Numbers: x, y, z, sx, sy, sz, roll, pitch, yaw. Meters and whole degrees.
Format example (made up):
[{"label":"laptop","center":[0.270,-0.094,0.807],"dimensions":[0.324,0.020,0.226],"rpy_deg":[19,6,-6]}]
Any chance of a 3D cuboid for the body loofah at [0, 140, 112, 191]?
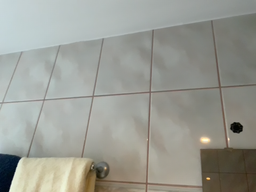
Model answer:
[{"label":"body loofah","center":[-0.220,0.340,0.580],"dimensions":[0.270,0.400,0.150],"rpy_deg":[-5,-29,19]}]
